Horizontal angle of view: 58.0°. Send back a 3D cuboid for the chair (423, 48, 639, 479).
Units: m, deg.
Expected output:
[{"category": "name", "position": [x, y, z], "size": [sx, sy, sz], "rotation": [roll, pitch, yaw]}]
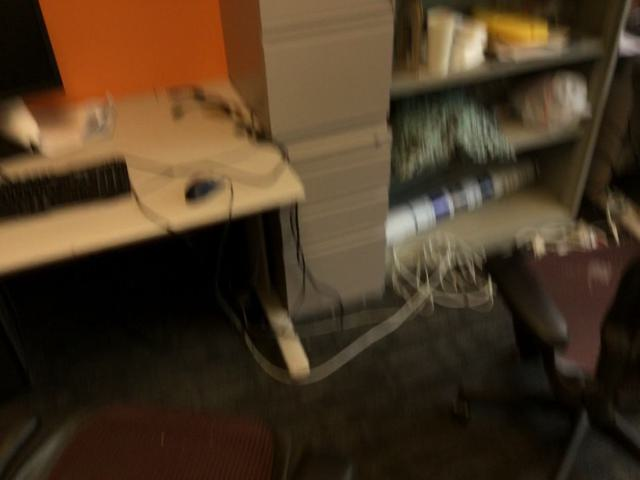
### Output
[{"category": "chair", "position": [0.680, 0.160, 1.370], "size": [0.580, 0.970, 0.700], "rotation": [-9, 37, -9]}]
